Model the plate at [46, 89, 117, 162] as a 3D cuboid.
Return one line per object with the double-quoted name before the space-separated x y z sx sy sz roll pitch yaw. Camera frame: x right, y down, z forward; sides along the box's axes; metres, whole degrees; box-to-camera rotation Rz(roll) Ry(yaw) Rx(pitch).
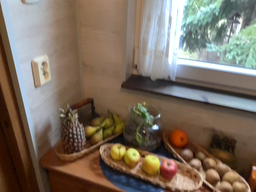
"plate" -0.200 0.120 1.010 0.170 0.160 0.320 14 32 19
